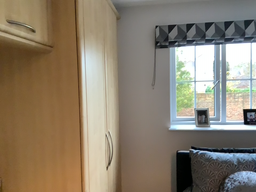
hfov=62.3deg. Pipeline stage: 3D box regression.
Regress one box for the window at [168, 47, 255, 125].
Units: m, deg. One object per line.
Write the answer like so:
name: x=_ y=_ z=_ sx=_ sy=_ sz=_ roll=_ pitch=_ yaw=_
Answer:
window: x=1.320 y=-0.110 z=2.320 sx=1.740 sy=0.830 sz=0.110 roll=0 pitch=4 yaw=14
